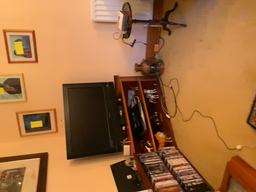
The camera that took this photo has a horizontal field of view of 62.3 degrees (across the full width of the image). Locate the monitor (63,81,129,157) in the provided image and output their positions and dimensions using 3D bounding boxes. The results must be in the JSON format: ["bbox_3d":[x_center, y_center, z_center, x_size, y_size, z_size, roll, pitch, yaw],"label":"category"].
[{"bbox_3d":[-0.360,0.220,2.340,0.040,0.640,0.800,125,138,-64],"label":"monitor"}]

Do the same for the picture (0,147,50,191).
[{"bbox_3d":[-1.090,0.760,1.910,0.880,0.690,0.070,-135,45,-65],"label":"picture"}]
